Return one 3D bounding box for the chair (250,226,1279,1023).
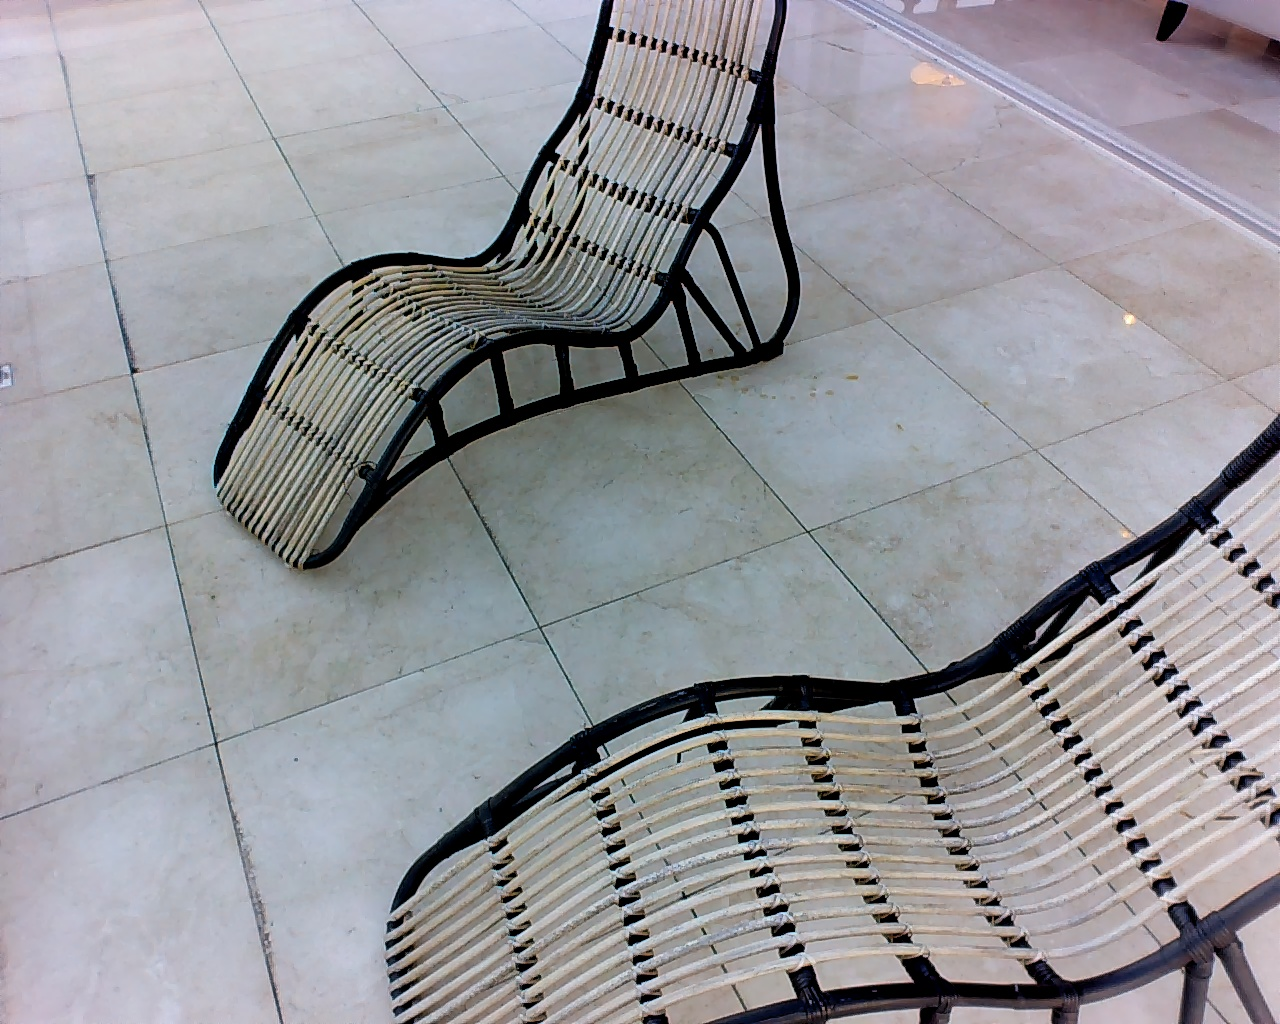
[{"bbox_3d":[0.400,0.290,1.390,1.530,0.860,0.810,-11,44,-13],"label":"chair"}]

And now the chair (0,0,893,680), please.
[{"bbox_3d":[-0.320,-0.610,2.340,0.910,0.920,1.520,32,51,29],"label":"chair"}]
